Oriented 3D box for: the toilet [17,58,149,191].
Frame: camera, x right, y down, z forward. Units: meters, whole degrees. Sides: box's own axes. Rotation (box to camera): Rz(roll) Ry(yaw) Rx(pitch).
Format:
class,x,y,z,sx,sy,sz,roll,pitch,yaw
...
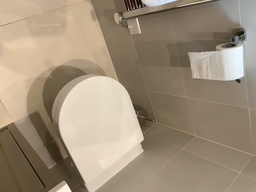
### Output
class,x,y,z,sx,sy,sz,roll,pitch,yaw
toilet,-0.240,0.120,1.160,0.380,0.460,0.540,-32,116,-29
